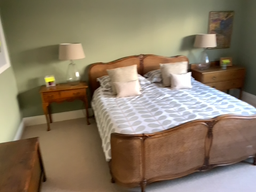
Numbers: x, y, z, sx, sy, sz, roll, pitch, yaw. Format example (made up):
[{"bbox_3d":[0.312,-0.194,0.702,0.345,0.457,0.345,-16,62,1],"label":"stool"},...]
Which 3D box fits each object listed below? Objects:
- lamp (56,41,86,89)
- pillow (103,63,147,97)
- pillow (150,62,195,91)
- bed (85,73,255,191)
[{"bbox_3d":[-0.910,-0.510,3.400,0.370,0.670,0.360,-8,20,-16],"label":"lamp"},{"bbox_3d":[-0.070,-0.280,3.360,0.570,0.350,0.620,-6,20,-11],"label":"pillow"},{"bbox_3d":[0.730,-0.360,3.610,0.480,0.290,0.720,-6,20,-12],"label":"pillow"},{"bbox_3d":[0.510,0.280,3.140,1.950,0.600,2.180,-8,20,-16],"label":"bed"}]
